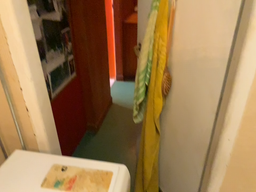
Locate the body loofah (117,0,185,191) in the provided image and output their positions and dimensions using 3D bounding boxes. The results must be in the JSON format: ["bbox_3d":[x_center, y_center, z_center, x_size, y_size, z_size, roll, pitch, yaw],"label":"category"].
[{"bbox_3d":[0.090,0.170,1.340,0.220,1.400,0.350,-6,31,-10],"label":"body loofah"}]
